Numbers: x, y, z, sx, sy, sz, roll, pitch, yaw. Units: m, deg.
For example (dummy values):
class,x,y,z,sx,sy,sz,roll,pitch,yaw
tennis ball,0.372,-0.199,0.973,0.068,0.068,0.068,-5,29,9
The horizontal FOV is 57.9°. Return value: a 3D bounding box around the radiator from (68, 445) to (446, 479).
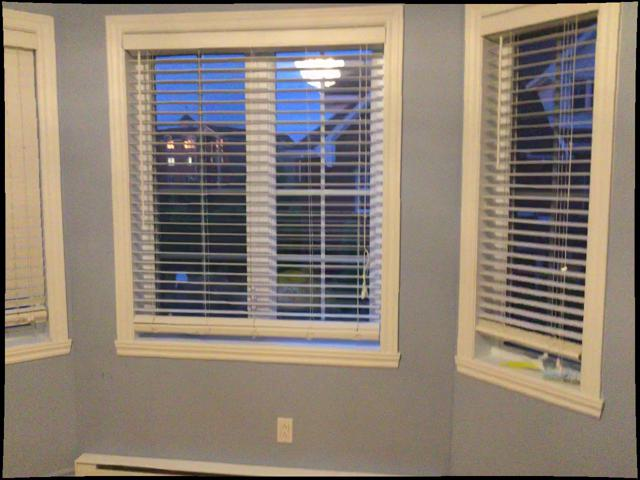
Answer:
class,x,y,z,sx,sy,sz,roll,pitch,yaw
radiator,-0.300,1.061,2.520,1.658,0.190,0.090,1,8,9
